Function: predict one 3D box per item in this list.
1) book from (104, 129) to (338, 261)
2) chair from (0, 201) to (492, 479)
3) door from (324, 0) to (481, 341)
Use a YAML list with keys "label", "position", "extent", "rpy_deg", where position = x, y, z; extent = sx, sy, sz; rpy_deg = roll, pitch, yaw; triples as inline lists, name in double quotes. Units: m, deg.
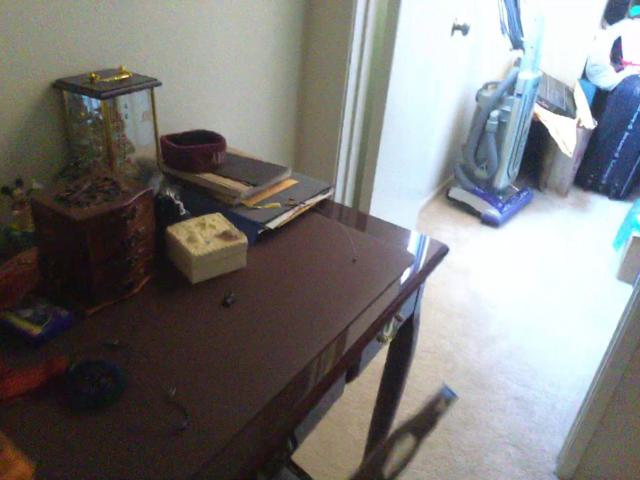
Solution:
- label: "book"
  position: [-0.170, -0.100, 1.060]
  extent: [0.300, 0.080, 0.290]
  rpy_deg: [18, 31, 23]
- label: "chair"
  position: [-0.130, 0.360, 0.820]
  extent: [0.520, 0.610, 0.430]
  rpy_deg: [18, 31, 23]
- label: "door"
  position: [0.300, -0.410, 1.880]
  extent: [0.100, 1.250, 0.850]
  rpy_deg: [18, 31, 23]
